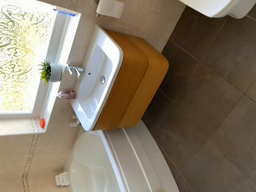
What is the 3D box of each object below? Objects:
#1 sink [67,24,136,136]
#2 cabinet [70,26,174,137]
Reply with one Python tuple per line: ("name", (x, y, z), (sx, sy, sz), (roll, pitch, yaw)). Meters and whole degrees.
("sink", (-0.260, -0.110, 1.700), (0.450, 0.120, 0.760), (53, 127, 38))
("cabinet", (-0.090, -0.100, 1.830), (0.460, 0.480, 0.750), (53, 127, 38))
